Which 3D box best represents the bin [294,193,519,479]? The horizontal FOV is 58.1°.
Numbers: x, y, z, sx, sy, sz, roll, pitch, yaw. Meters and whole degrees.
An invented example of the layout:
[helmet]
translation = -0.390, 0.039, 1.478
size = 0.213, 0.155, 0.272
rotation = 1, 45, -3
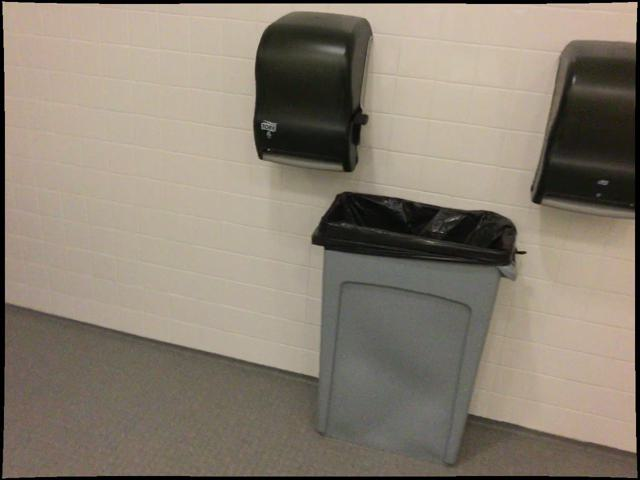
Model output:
[bin]
translation = 0.249, 0.301, 1.810
size = 0.579, 0.772, 0.290
rotation = 9, 24, 14
